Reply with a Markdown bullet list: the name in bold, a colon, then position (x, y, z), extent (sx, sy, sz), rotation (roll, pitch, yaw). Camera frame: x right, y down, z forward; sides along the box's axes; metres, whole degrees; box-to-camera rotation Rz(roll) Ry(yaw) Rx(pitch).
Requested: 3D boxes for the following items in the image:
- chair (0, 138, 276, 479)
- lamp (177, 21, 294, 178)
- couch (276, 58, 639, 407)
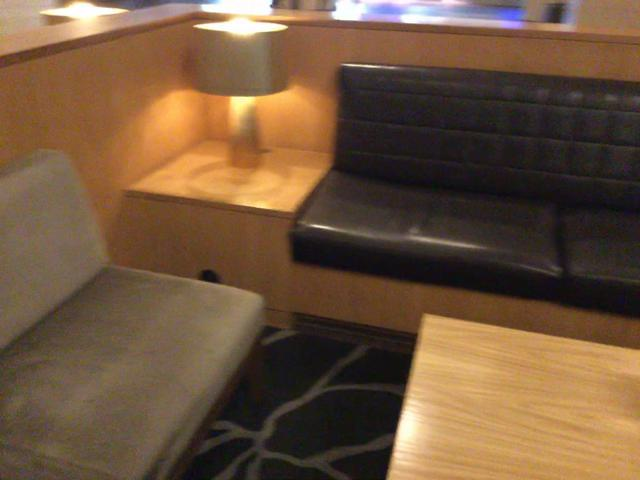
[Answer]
- **chair**: position (-0.580, 0.250, 1.510), extent (0.700, 0.800, 0.760), rotation (7, 26, 14)
- **lamp**: position (-0.310, -0.550, 2.240), extent (0.350, 0.530, 0.260), rotation (7, 26, 14)
- **couch**: position (0.870, -0.060, 2.030), extent (1.900, 0.930, 0.700), rotation (7, 26, 14)
